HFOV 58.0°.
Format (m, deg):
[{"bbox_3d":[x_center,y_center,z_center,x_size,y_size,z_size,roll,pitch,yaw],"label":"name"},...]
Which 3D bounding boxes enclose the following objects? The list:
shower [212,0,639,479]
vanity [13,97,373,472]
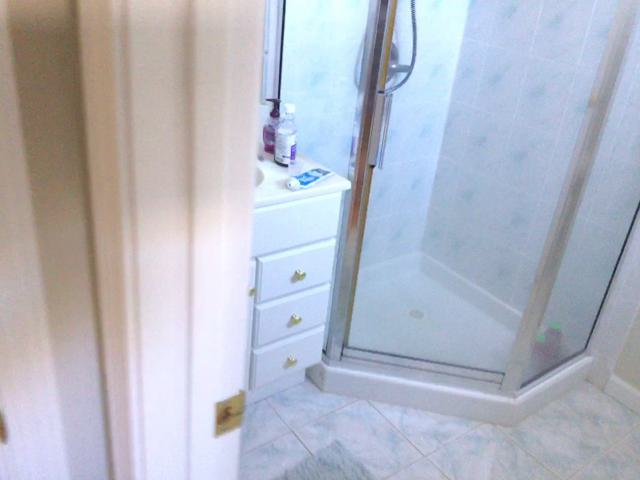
[{"bbox_3d":[0.460,-0.340,1.800,1.120,1.880,1.140,13,25,13],"label":"shower"},{"bbox_3d":[-0.370,0.060,1.730,0.830,0.860,0.470,-10,29,-33],"label":"vanity"}]
